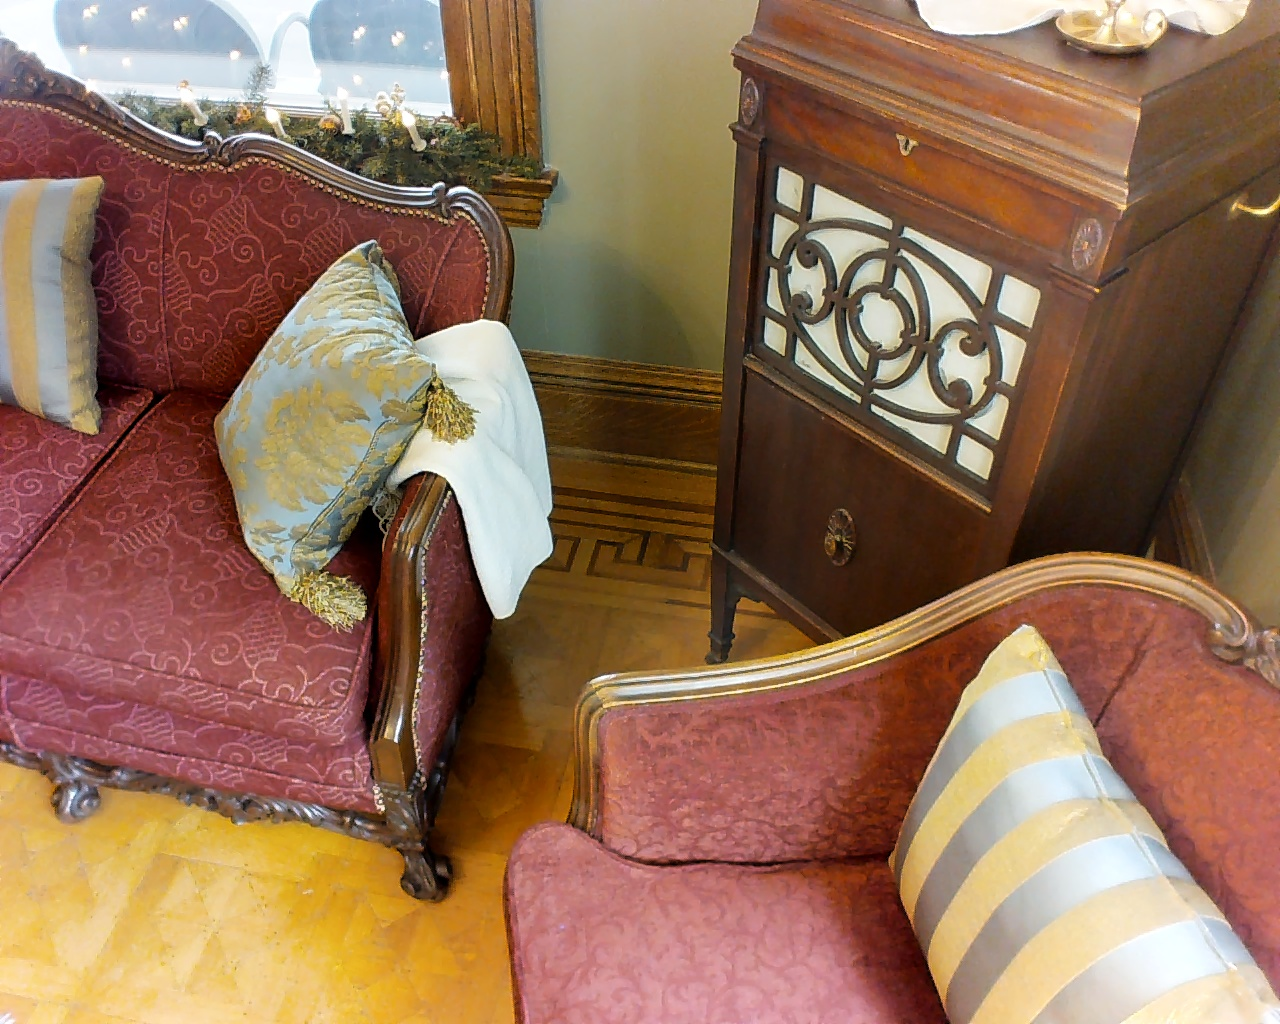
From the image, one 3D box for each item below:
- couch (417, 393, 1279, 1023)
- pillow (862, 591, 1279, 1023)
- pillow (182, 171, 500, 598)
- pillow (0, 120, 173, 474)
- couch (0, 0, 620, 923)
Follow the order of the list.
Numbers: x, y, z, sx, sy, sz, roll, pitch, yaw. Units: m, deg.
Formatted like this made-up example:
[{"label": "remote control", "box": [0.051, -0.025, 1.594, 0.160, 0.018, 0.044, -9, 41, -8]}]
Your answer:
[{"label": "couch", "box": [0.220, 0.510, 1.070, 0.750, 0.910, 0.780, -5, 43, -6]}, {"label": "pillow", "box": [0.390, 0.360, 1.000, 0.180, 0.360, 0.420, -7, 43, -9]}, {"label": "pillow", "box": [-0.450, -0.160, 1.550, 0.210, 0.420, 0.420, 5, 57, -43]}, {"label": "pillow", "box": [-1.060, -0.370, 1.770, 0.420, 0.440, 0.250, 25, 43, -12]}, {"label": "couch", "box": [-1.100, -0.190, 1.780, 1.980, 1.010, 0.940, 8, 43, 8]}]
